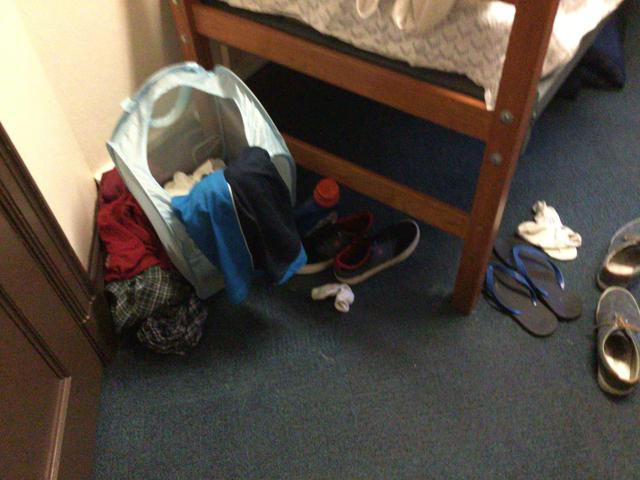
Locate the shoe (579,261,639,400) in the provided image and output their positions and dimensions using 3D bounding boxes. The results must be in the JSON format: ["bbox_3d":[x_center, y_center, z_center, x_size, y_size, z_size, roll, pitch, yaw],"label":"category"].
[{"bbox_3d":[0.740,0.210,1.390,0.140,0.080,0.310,18,56,21],"label":"shoe"}]

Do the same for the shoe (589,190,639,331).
[{"bbox_3d":[0.850,0.050,1.520,0.160,0.080,0.390,21,57,23],"label":"shoe"}]

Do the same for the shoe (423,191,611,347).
[{"bbox_3d":[0.520,0.060,1.550,0.370,0.070,0.310,30,61,28],"label":"shoe"}]

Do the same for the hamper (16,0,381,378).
[{"bbox_3d":[-0.230,-0.140,1.440,0.550,0.640,0.510,30,61,28],"label":"hamper"}]

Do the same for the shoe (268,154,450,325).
[{"bbox_3d":[0.120,-0.020,1.650,0.300,0.120,0.440,30,61,28],"label":"shoe"}]

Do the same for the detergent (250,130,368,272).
[{"bbox_3d":[-0.020,-0.110,1.640,0.220,0.270,0.210,30,61,28],"label":"detergent"}]
